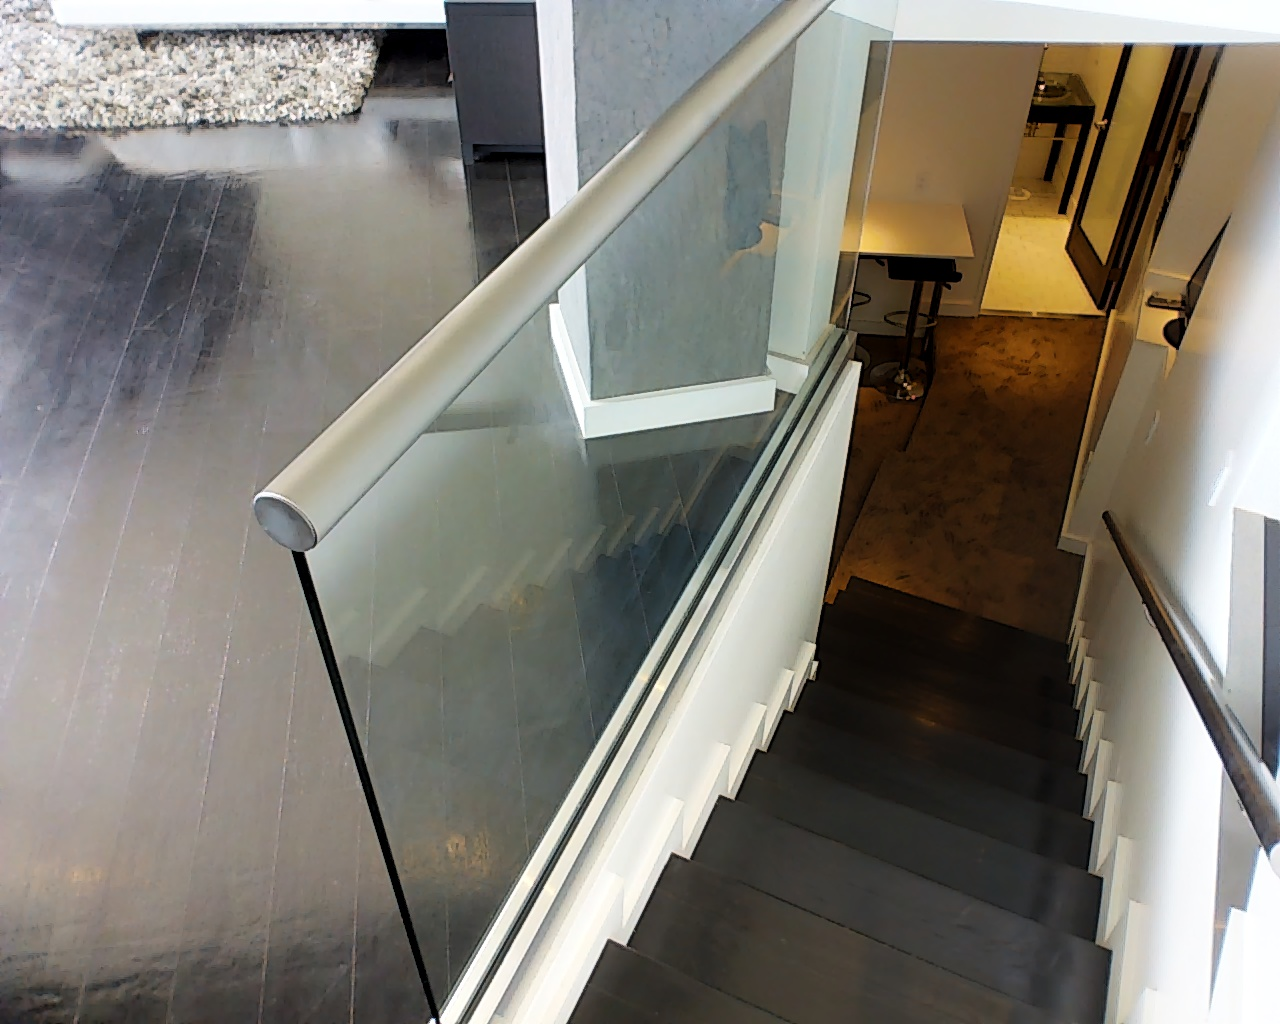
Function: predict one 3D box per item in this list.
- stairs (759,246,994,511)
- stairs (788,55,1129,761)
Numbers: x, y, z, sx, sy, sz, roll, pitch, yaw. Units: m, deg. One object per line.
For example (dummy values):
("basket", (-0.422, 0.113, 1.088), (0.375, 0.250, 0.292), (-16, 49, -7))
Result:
("stairs", (1.320, -0.820, 6.420), (1.060, 0.960, 1.330), (1, 42, 1))
("stairs", (1.360, -0.570, 5.170), (1.070, 0.930, 3.310), (1, 67, 1))
